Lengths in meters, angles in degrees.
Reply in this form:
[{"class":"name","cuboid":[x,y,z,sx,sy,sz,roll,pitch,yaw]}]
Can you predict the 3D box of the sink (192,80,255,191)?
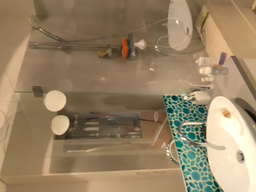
[{"class":"sink","cuboid":[0.550,0.260,1.110,0.380,0.130,0.570,104,163,-51]}]
